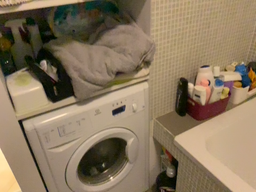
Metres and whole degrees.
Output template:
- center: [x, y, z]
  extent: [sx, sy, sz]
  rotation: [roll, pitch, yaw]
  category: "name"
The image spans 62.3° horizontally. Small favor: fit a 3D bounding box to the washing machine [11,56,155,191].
- center: [-0.220, 0.290, 1.280]
  extent: [0.590, 0.840, 0.440]
  rotation: [-19, 36, -24]
  category: "washing machine"
